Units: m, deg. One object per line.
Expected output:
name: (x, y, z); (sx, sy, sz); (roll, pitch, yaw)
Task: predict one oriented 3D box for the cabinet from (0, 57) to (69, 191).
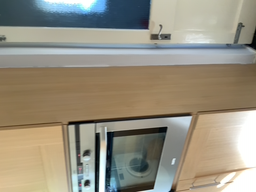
cabinet: (-0.680, 0.230, 1.180); (0.640, 0.640, 0.700); (-113, 25, -56)
